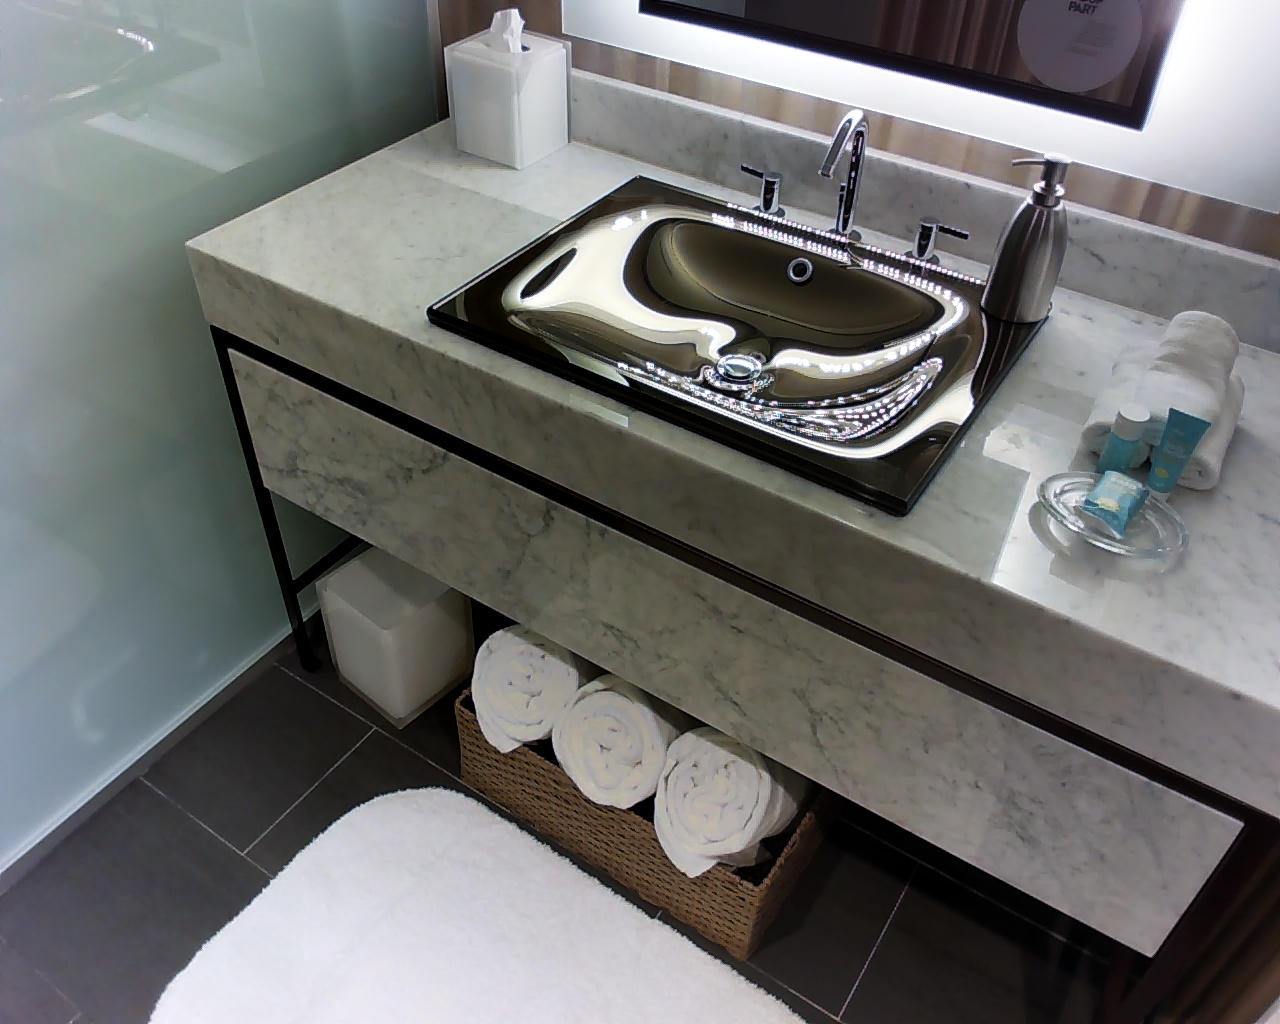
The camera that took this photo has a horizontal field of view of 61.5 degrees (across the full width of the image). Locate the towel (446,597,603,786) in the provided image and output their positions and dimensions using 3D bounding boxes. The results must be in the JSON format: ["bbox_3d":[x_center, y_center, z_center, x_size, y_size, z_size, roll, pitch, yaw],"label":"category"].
[{"bbox_3d":[-0.170,0.270,1.630,0.180,0.180,0.140,25,47,25],"label":"towel"}]

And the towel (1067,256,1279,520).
[{"bbox_3d":[0.590,-0.140,1.130,0.170,0.120,0.260,24,46,24],"label":"towel"}]

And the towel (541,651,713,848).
[{"bbox_3d":[-0.020,0.340,1.550,0.200,0.170,0.130,24,46,24],"label":"towel"}]

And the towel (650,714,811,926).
[{"bbox_3d":[0.120,0.420,1.470,0.150,0.190,0.150,26,47,25],"label":"towel"}]

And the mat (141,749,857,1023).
[{"bbox_3d":[-0.180,0.780,1.450,0.940,0.030,0.680,24,46,24],"label":"mat"}]
